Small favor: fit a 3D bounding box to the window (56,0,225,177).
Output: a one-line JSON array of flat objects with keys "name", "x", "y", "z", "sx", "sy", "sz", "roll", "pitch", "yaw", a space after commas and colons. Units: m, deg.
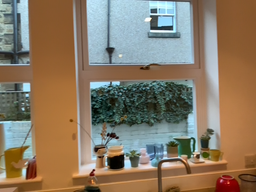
[{"name": "window", "x": 0.100, "y": -0.220, "z": 1.770, "sx": 1.240, "sy": 1.540, "sz": 0.380, "roll": -2, "pitch": 1, "yaw": -8}]
